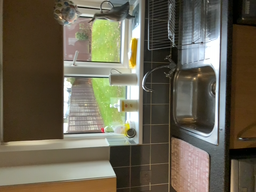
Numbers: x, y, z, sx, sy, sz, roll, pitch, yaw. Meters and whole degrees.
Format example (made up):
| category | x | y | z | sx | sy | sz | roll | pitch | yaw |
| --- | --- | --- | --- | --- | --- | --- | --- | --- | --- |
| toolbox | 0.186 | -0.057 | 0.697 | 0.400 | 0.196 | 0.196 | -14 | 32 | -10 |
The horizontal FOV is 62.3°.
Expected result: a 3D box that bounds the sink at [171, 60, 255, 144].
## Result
| category | x | y | z | sx | sy | sz | roll | pitch | yaw |
| --- | --- | --- | --- | --- | --- | --- | --- | --- | --- |
| sink | 0.490 | 0.020 | 1.310 | 0.440 | 0.260 | 0.420 | -168 | 79 | -75 |
